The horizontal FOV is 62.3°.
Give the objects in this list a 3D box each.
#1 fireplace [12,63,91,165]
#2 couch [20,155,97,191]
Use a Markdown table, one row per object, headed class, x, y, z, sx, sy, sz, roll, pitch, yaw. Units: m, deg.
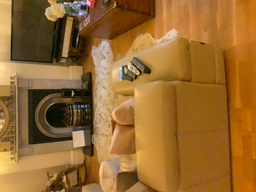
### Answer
| class | x | y | z | sx | sy | sz | roll | pitch | yaw |
| --- | --- | --- | --- | --- | --- | --- | --- | --- | --- |
| fireplace | -1.380 | 0.280 | 3.820 | 0.710 | 1.200 | 1.540 | -3 | 87 | 57 |
| couch | -1.250 | 1.650 | 3.710 | 0.660 | 1.090 | 0.830 | 46 | 127 | 48 |
